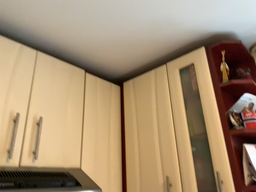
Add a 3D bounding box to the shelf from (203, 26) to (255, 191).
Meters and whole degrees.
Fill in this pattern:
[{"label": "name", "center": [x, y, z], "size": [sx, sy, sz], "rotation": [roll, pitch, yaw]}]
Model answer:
[{"label": "shelf", "center": [0.570, 0.150, 0.990], "size": [0.150, 0.930, 0.290], "rotation": [-21, -29, 37]}]
